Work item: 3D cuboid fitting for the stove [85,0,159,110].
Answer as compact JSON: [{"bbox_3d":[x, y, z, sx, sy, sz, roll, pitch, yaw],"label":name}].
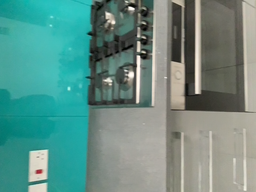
[{"bbox_3d":[-0.060,-0.230,0.980,0.540,0.030,0.590,-5,83,54],"label":"stove"}]
